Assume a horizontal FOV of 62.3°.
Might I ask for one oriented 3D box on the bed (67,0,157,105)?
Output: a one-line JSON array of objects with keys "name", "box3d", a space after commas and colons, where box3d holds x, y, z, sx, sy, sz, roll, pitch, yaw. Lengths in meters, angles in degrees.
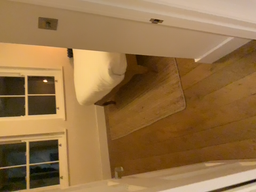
[{"name": "bed", "box3d": [-0.410, -1.050, 3.240, 1.480, 0.680, 2.040, 144, 122, -60]}]
